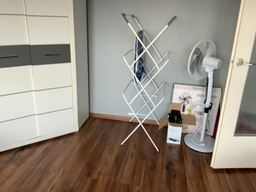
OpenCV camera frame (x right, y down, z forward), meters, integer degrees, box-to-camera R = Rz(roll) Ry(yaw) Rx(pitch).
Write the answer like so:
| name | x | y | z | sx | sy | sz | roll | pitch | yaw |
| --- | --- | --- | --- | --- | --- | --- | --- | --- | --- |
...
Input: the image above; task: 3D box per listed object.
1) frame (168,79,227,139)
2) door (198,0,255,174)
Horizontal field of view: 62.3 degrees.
| name | x | y | z | sx | sy | sz | roll | pitch | yaw |
| --- | --- | --- | --- | --- | --- | --- | --- | --- | --- |
| frame | 0.830 | 0.160 | 2.640 | 0.590 | 0.670 | 0.200 | 5 | 20 | 9 |
| door | 1.230 | -0.200 | 1.820 | 0.930 | 2.000 | 0.140 | 1 | 19 | -4 |
